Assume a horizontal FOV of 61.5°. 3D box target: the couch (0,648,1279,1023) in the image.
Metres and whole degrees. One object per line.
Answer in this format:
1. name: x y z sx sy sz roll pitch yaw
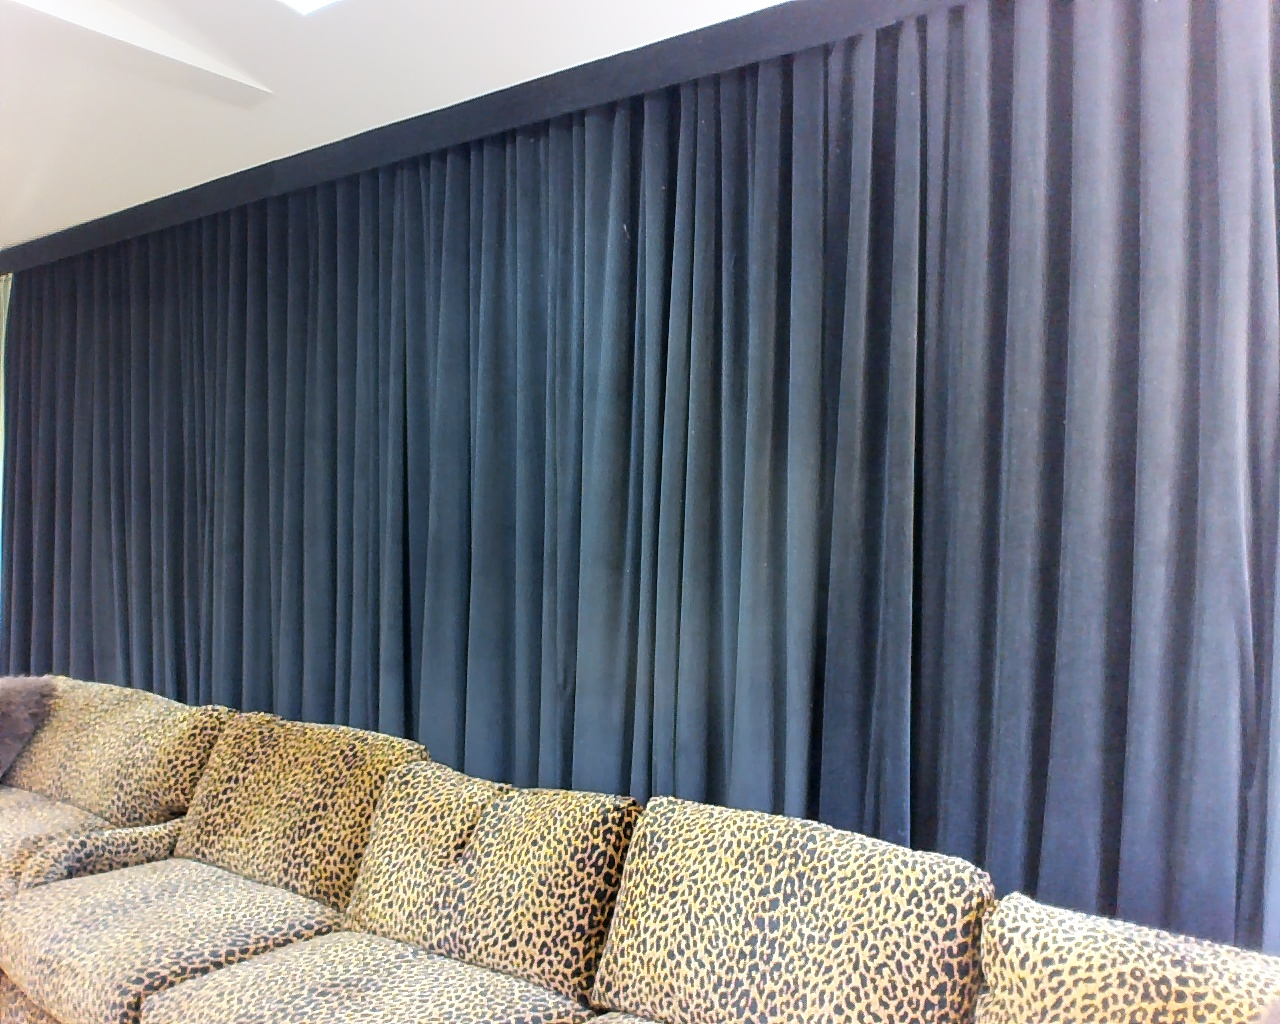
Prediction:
1. couch: -0.730 1.070 2.170 5.259 0.930 1.480 1 1 37
